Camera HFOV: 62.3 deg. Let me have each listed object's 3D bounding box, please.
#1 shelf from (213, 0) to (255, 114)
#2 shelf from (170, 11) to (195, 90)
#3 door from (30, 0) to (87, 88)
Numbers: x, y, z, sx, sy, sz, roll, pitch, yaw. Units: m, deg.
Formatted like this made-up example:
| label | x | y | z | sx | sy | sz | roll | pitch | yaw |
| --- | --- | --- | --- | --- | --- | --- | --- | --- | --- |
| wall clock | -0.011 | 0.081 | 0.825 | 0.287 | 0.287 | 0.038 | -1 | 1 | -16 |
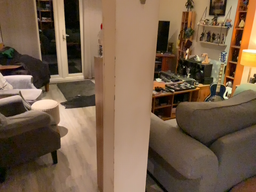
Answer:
| label | x | y | z | sx | sy | sz | roll | pitch | yaw |
| --- | --- | --- | --- | --- | --- | --- | --- | --- | --- |
| shelf | 1.730 | -0.720 | 3.350 | 0.260 | 2.030 | 0.310 | -9 | 23 | -27 |
| shelf | 1.140 | -0.940 | 4.480 | 0.190 | 1.590 | 0.270 | -9 | 23 | -27 |
| door | -1.480 | -1.270 | 4.700 | 1.100 | 2.130 | 0.070 | -10 | 24 | -29 |
